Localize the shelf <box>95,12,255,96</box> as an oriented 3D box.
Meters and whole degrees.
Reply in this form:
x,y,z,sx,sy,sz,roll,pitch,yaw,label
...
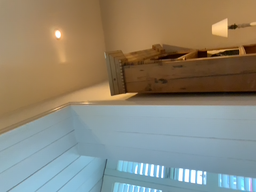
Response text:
x,y,z,sx,sy,sz,roll,pitch,yaw,label
0.520,-0.300,1.440,1.000,1.060,0.340,-31,-63,-60,shelf
